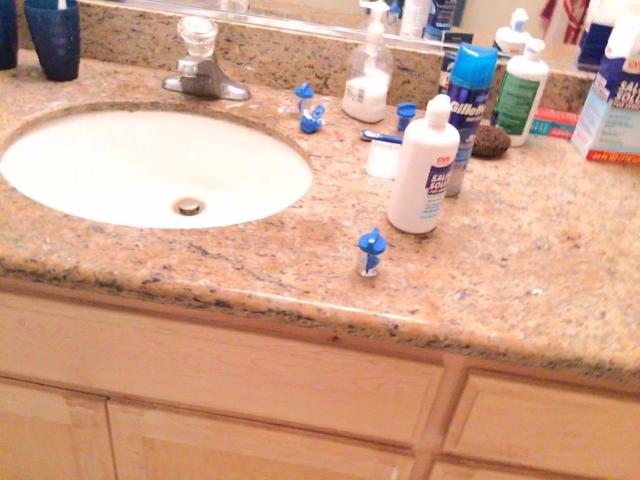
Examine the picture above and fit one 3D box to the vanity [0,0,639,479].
[{"bbox_3d":[-0.020,0.140,0.990,1.400,0.930,0.590,10,33,1],"label":"vanity"}]
